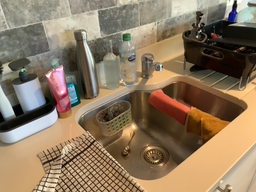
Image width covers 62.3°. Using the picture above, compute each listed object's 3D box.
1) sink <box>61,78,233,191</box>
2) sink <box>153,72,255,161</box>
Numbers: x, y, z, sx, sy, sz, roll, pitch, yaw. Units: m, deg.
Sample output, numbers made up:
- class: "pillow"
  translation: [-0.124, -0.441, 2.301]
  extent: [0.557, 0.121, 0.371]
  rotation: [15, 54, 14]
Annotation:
- class: "sink"
  translation: [0.050, 0.180, 0.790]
  extent: [0.390, 0.240, 0.440]
  rotation: [-26, 39, -30]
- class: "sink"
  translation: [0.300, 0.060, 0.890]
  extent: [0.190, 0.160, 0.360]
  rotation: [-26, 39, -30]
